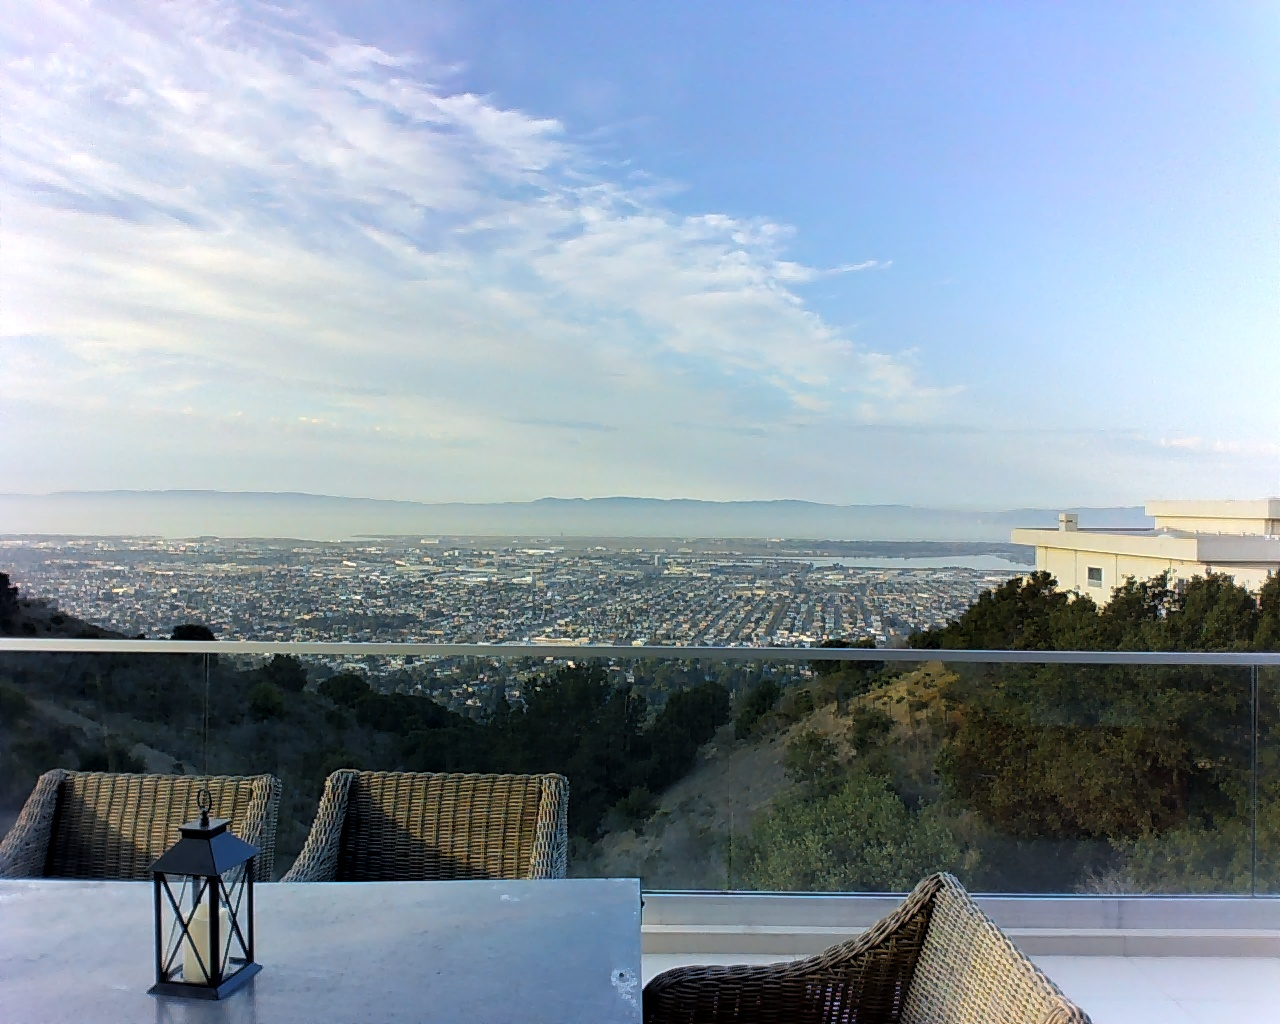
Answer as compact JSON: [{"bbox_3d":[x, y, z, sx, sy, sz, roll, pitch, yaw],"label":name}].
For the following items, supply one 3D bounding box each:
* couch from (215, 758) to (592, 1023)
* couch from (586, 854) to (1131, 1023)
[{"bbox_3d":[-0.540,1.110,2.740,0.780,0.780,0.760,1,0,1],"label":"couch"},{"bbox_3d":[0.300,1.130,1.860,0.760,0.840,0.730,1,0,0],"label":"couch"}]
